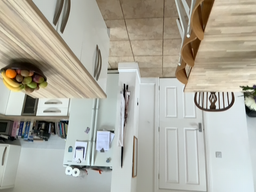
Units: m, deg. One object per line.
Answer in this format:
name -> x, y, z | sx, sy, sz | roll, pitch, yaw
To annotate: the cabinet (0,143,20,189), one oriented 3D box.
cabinet -> -2.420, 1.320, 4.060 | 0.300, 0.800, 0.400 | 0, 163, 9
